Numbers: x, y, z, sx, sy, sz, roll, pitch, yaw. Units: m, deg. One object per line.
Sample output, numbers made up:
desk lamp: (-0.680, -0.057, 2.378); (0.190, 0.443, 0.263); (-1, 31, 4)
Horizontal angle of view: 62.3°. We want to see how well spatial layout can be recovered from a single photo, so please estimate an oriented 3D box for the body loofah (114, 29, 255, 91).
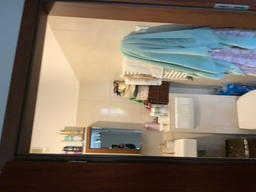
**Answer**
body loofah: (0.620, -0.200, 1.410); (0.420, 1.410, 0.200); (105, 168, -76)
